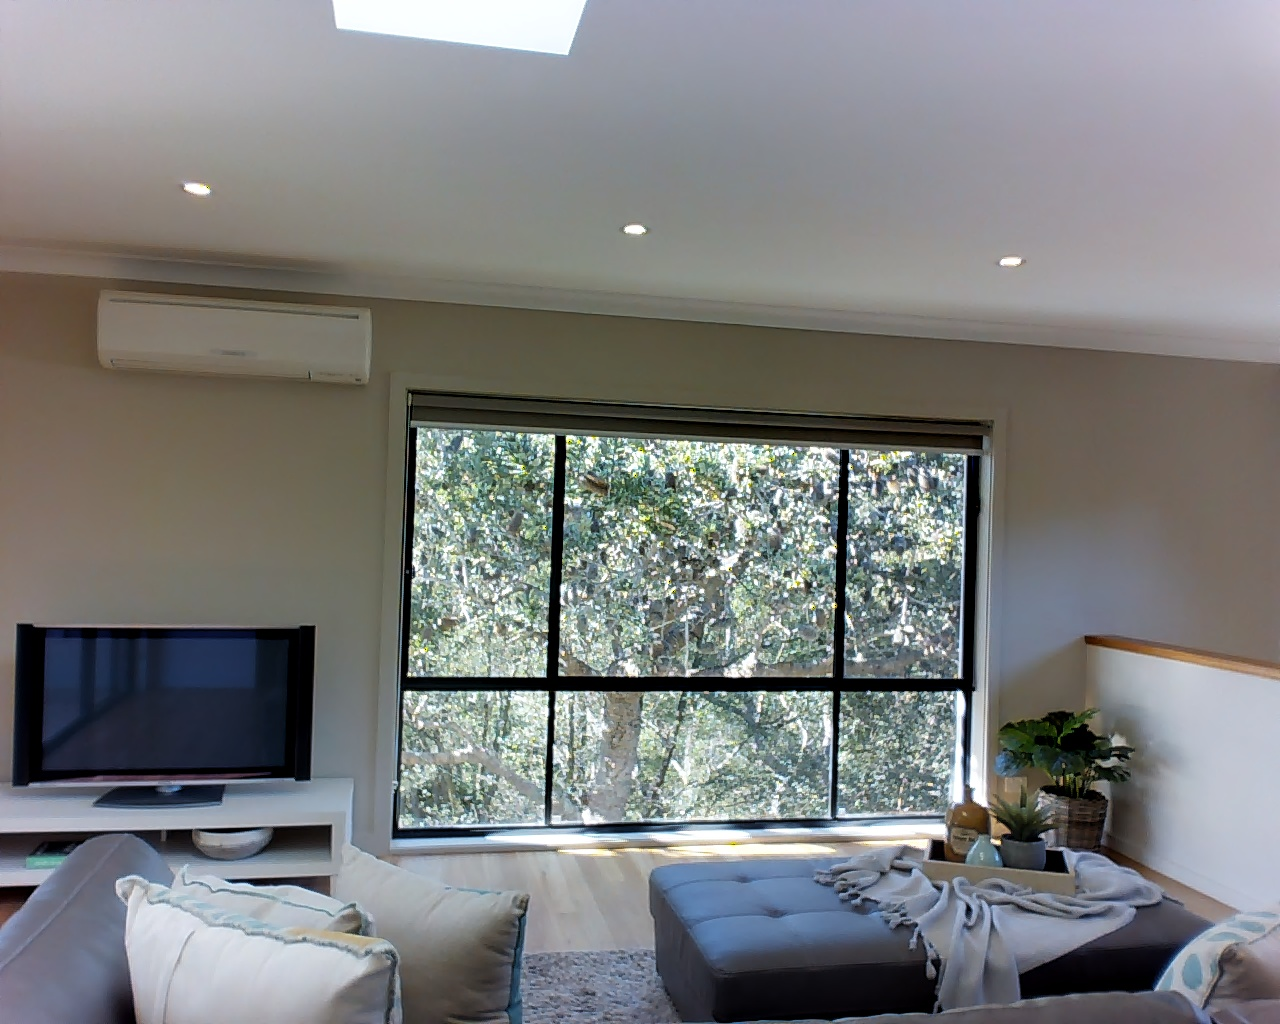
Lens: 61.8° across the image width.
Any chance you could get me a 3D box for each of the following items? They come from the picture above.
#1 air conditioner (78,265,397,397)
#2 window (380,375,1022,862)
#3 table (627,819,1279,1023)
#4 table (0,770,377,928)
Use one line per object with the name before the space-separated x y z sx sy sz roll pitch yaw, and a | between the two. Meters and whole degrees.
air conditioner | -1.670 -0.750 4.540 1.220 0.430 0.320 2 -1 -11
window | 0.340 0.510 5.180 3.029 2.131 0.400 2 -1 -11
table | 0.870 1.330 3.260 1.660 0.480 0.960 2 -1 -11
table | -1.909 1.330 4.310 1.610 0.410 0.620 2 -1 -11
